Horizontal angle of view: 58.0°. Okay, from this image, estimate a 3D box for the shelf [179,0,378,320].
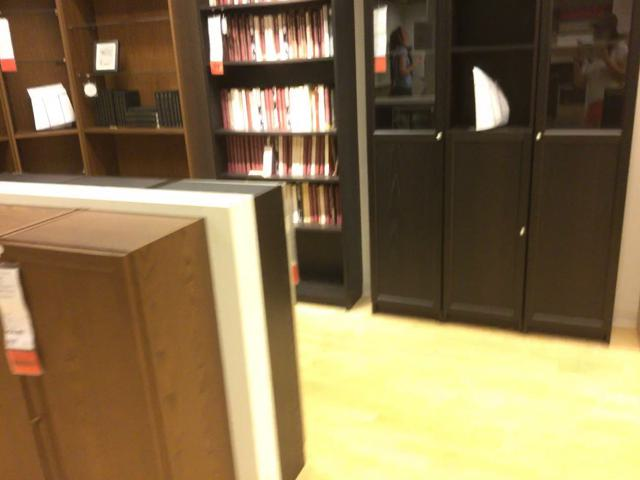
[{"bbox_3d":[-0.210,-0.650,3.260,0.890,1.990,0.590,7,17,21],"label":"shelf"}]

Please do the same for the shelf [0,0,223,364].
[{"bbox_3d":[-1.650,-0.600,3.260,1.850,2.170,1.170,-17,41,-30],"label":"shelf"}]

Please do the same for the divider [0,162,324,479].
[{"bbox_3d":[-0.750,0.360,1.840,1.350,1.060,0.480,7,33,21],"label":"divider"}]
